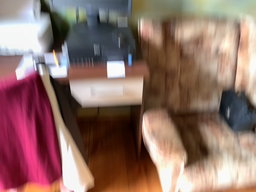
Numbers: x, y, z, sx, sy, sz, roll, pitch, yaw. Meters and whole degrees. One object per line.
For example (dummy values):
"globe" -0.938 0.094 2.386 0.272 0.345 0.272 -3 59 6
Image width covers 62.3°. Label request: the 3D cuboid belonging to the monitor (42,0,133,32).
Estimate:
"monitor" -0.240 -0.540 1.150 0.480 0.320 0.030 -4 37 14
